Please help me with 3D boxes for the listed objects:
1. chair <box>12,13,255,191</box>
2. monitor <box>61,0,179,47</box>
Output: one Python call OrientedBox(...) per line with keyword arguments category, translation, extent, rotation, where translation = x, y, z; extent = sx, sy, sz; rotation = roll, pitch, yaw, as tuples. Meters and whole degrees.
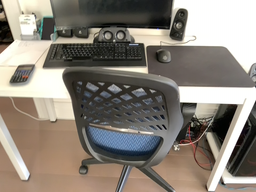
OrientedBox(category="chair", translation=(0.020, 0.140, 1.120), extent=(0.690, 0.930, 0.640), rotation=(1, 37, 0))
OrientedBox(category="monitor", translation=(-0.040, -0.480, 1.100), extent=(0.590, 0.440, 0.050), rotation=(1, 33, -1))
